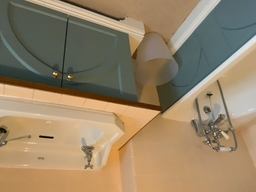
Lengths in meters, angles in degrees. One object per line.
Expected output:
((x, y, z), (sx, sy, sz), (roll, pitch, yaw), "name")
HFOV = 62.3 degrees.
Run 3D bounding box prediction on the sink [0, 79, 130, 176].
((-0.420, 0.200, 1.080), (0.710, 0.290, 0.450), (9, 144, -24), "sink")
